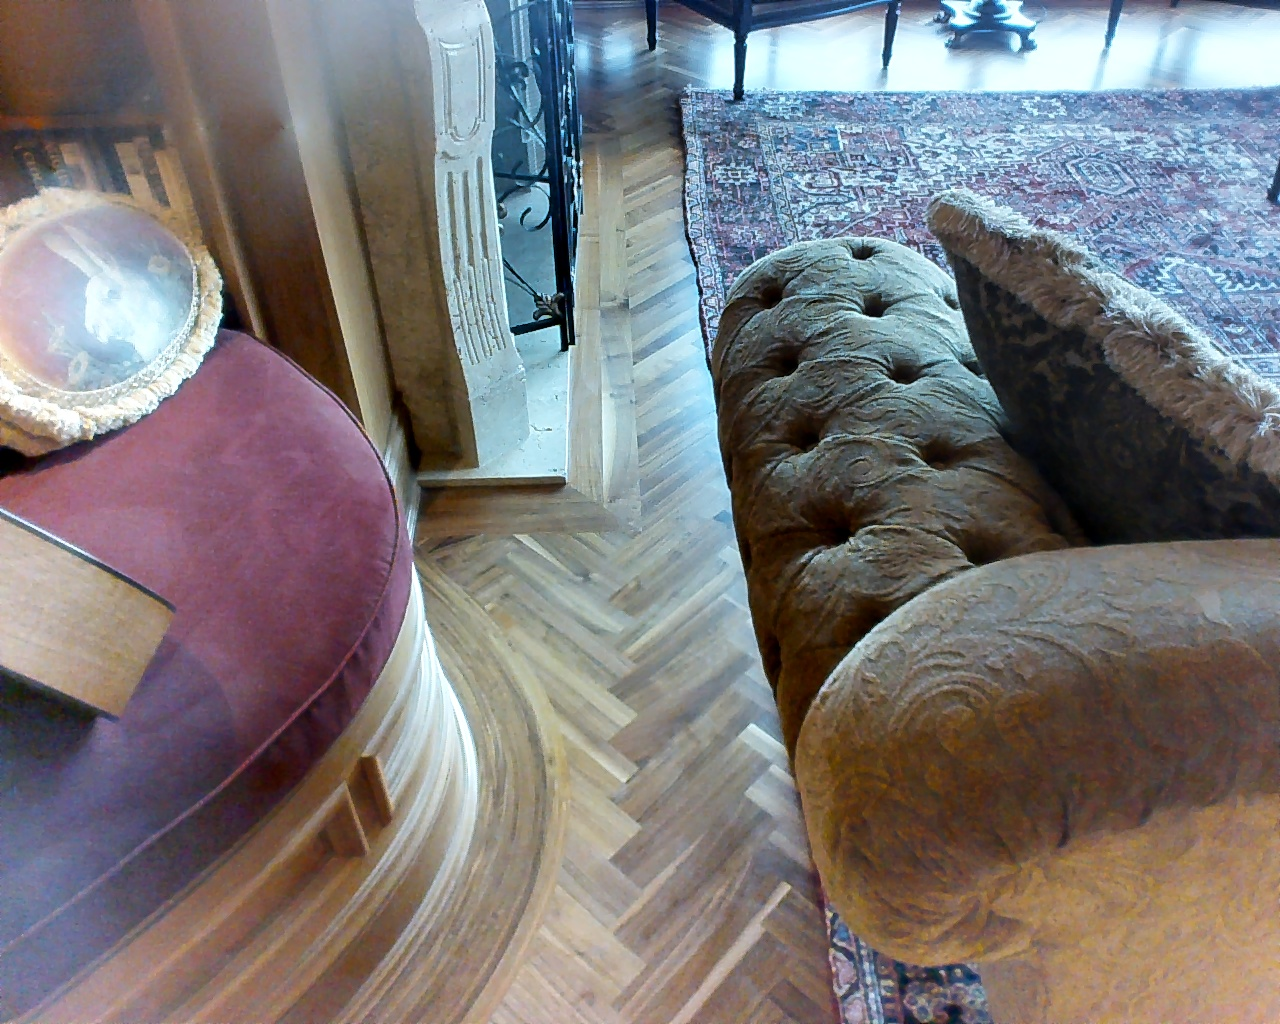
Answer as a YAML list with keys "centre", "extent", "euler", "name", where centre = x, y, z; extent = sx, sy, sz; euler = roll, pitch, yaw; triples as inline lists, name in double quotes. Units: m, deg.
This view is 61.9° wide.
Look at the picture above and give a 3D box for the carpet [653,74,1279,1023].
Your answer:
- centre: [1.430, -0.340, 2.520]
  extent: [2.579, 0.020, 3.590]
  euler: [-3, 42, -2]
  name: "carpet"
